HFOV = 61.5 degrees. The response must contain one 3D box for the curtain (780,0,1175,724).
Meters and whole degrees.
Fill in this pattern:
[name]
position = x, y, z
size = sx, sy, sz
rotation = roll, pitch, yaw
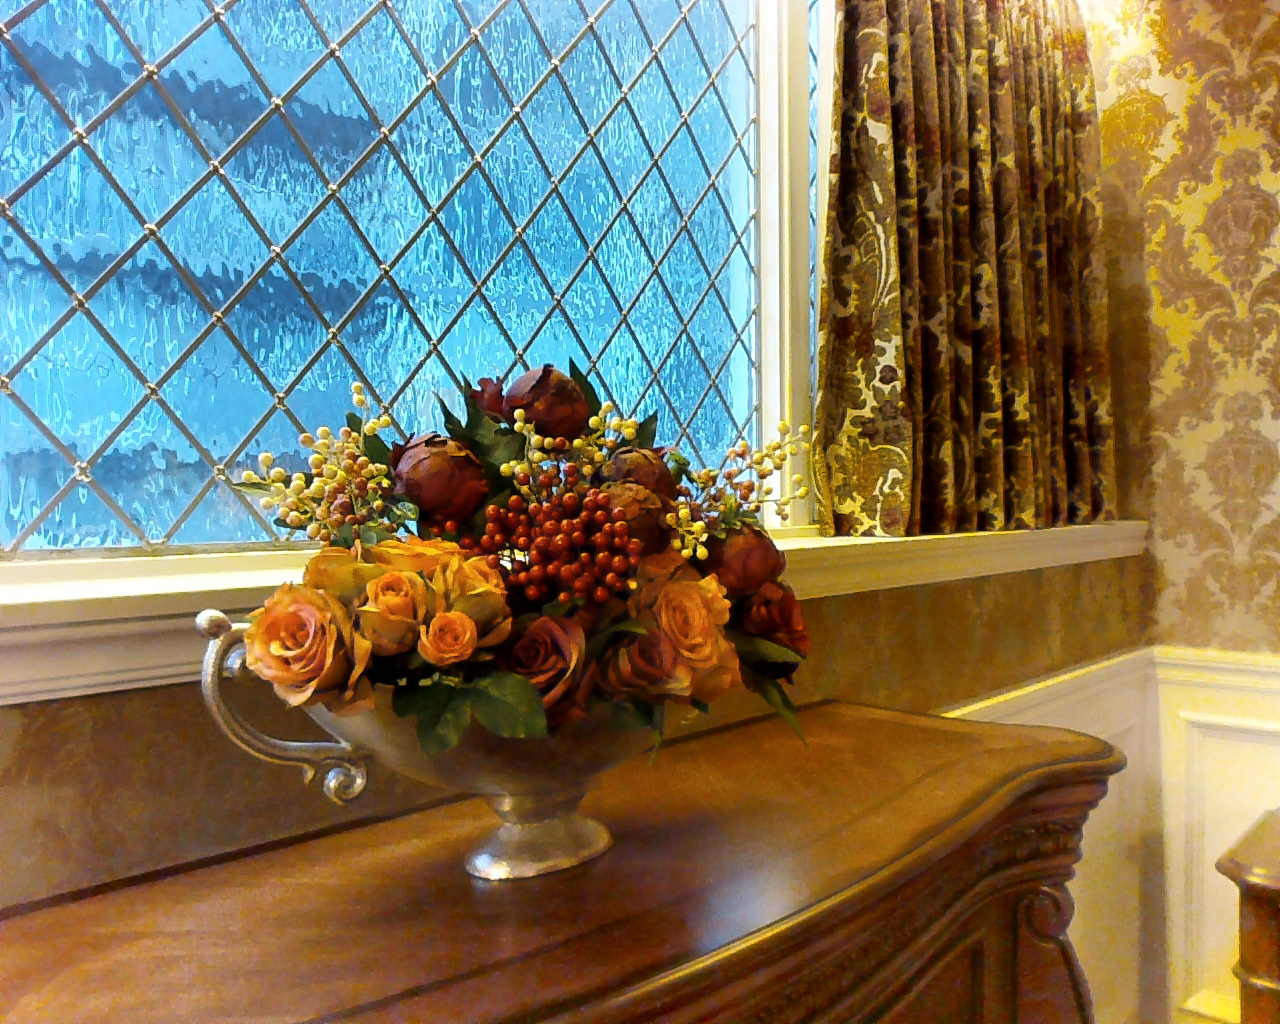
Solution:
[curtain]
position = 0.720, -0.470, 2.100
size = 0.250, 1.560, 1.150
rotation = 0, 1, 44
